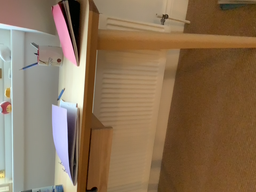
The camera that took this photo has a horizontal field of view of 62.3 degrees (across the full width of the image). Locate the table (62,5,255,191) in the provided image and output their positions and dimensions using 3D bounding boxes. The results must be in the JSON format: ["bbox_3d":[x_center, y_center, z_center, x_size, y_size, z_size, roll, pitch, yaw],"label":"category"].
[{"bbox_3d":[0.080,0.270,1.090,0.480,0.710,1.210,31,118,60],"label":"table"}]
